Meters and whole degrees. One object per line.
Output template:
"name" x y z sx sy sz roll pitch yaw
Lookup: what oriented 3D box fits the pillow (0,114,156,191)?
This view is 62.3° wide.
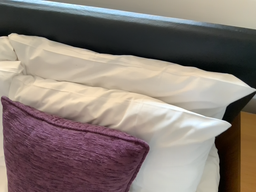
"pillow" -0.150 0.260 0.560 0.410 0.360 0.170 2 27 21
